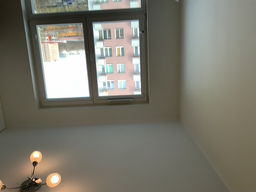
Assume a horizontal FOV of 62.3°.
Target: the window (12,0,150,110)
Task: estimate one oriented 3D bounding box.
[{"bbox_3d":[-0.640,-0.870,3.150,1.880,2.110,0.200,-2,-167,0],"label":"window"}]
